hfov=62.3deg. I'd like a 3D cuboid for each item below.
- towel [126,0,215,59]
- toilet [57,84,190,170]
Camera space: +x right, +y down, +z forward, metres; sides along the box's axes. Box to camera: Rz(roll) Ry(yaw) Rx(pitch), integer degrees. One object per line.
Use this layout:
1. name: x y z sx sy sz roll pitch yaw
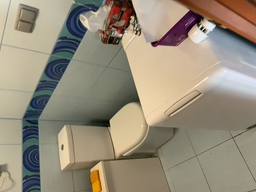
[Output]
1. towel: 0.130 -0.340 0.780 0.210 0.130 0.320 -43 51 41
2. toilet: -0.060 0.300 1.790 0.670 0.840 0.370 -44 50 41
